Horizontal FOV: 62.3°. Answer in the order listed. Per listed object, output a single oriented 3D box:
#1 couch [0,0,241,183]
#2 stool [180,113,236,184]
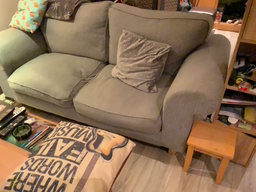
[{"bbox_3d":[-0.250,-0.300,1.920,2.050,0.900,1.040,15,39,21],"label":"couch"},{"bbox_3d":[0.540,0.350,1.450,0.270,0.310,0.260,15,39,21],"label":"stool"}]
